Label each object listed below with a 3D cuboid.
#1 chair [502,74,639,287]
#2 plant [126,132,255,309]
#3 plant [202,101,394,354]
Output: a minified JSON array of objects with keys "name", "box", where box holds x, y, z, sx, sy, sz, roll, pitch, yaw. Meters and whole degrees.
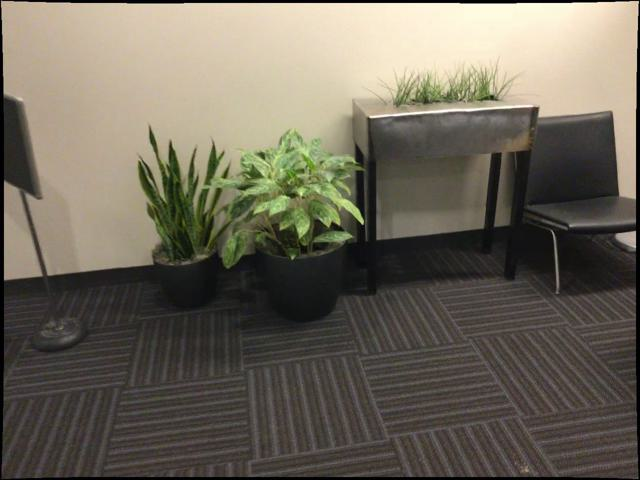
[{"name":"chair","box":[1.367,-0.321,2.840,0.639,0.731,0.690,-11,30,-5]},{"name":"plant","box":[-0.609,-0.100,2.830,0.439,0.691,0.400,-11,30,-5]},{"name":"plant","box":[-0.120,-0.100,2.680,0.679,0.781,0.810,-11,30,-5]}]
